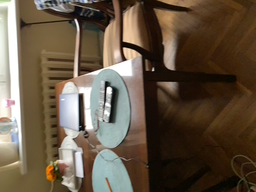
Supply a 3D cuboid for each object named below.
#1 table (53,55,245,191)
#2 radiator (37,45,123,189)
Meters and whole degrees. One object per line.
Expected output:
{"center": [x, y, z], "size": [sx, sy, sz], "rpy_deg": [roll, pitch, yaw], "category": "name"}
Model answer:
{"center": [0.040, 0.250, 1.460], "size": [1.100, 0.730, 0.780], "rpy_deg": [-5, 88, 54], "category": "table"}
{"center": [-0.440, 0.160, 2.010], "size": [0.210, 0.690, 1.170], "rpy_deg": [-9, 85, 54], "category": "radiator"}
